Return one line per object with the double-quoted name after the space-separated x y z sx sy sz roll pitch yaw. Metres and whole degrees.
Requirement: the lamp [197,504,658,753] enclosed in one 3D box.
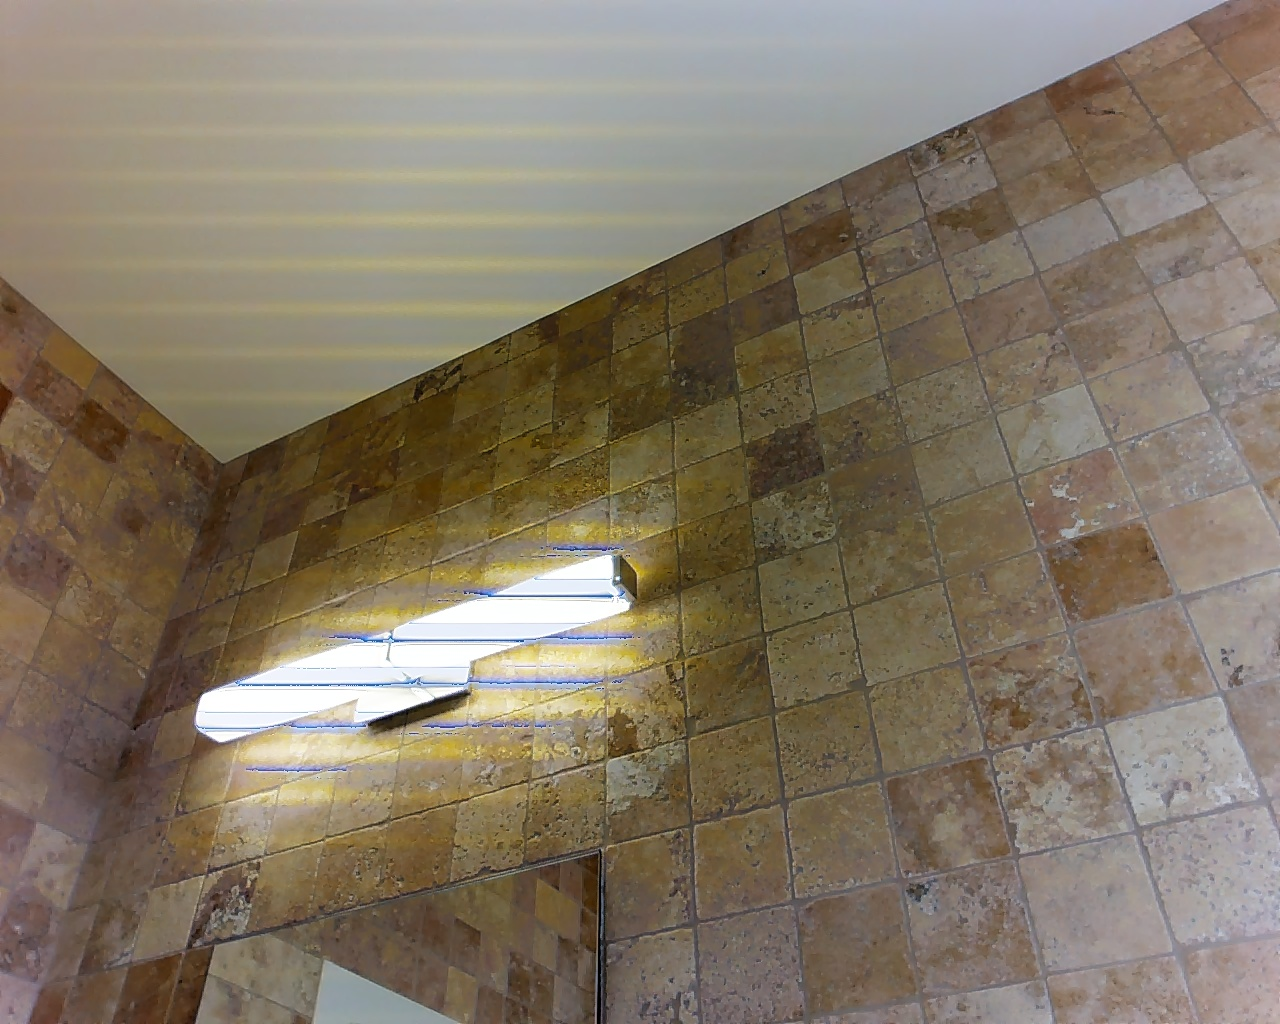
-0.300 0.170 1.460 0.690 0.120 0.080 -20 -46 21 "lamp"
